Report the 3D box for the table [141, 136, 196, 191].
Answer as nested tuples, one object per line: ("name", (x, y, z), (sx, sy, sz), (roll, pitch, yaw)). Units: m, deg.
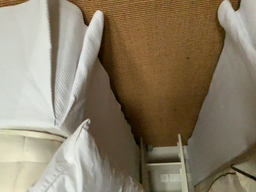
("table", (0.410, 0.840, 2.200), (0.470, 0.720, 0.400), (-5, 154, 7))
